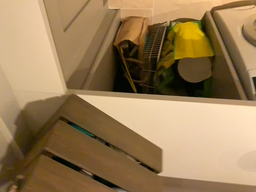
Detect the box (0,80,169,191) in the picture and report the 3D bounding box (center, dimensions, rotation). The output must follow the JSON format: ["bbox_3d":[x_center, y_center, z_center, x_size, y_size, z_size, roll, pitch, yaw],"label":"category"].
[{"bbox_3d":[-0.190,0.300,0.760,0.440,0.310,0.490,36,127,-21],"label":"box"}]
